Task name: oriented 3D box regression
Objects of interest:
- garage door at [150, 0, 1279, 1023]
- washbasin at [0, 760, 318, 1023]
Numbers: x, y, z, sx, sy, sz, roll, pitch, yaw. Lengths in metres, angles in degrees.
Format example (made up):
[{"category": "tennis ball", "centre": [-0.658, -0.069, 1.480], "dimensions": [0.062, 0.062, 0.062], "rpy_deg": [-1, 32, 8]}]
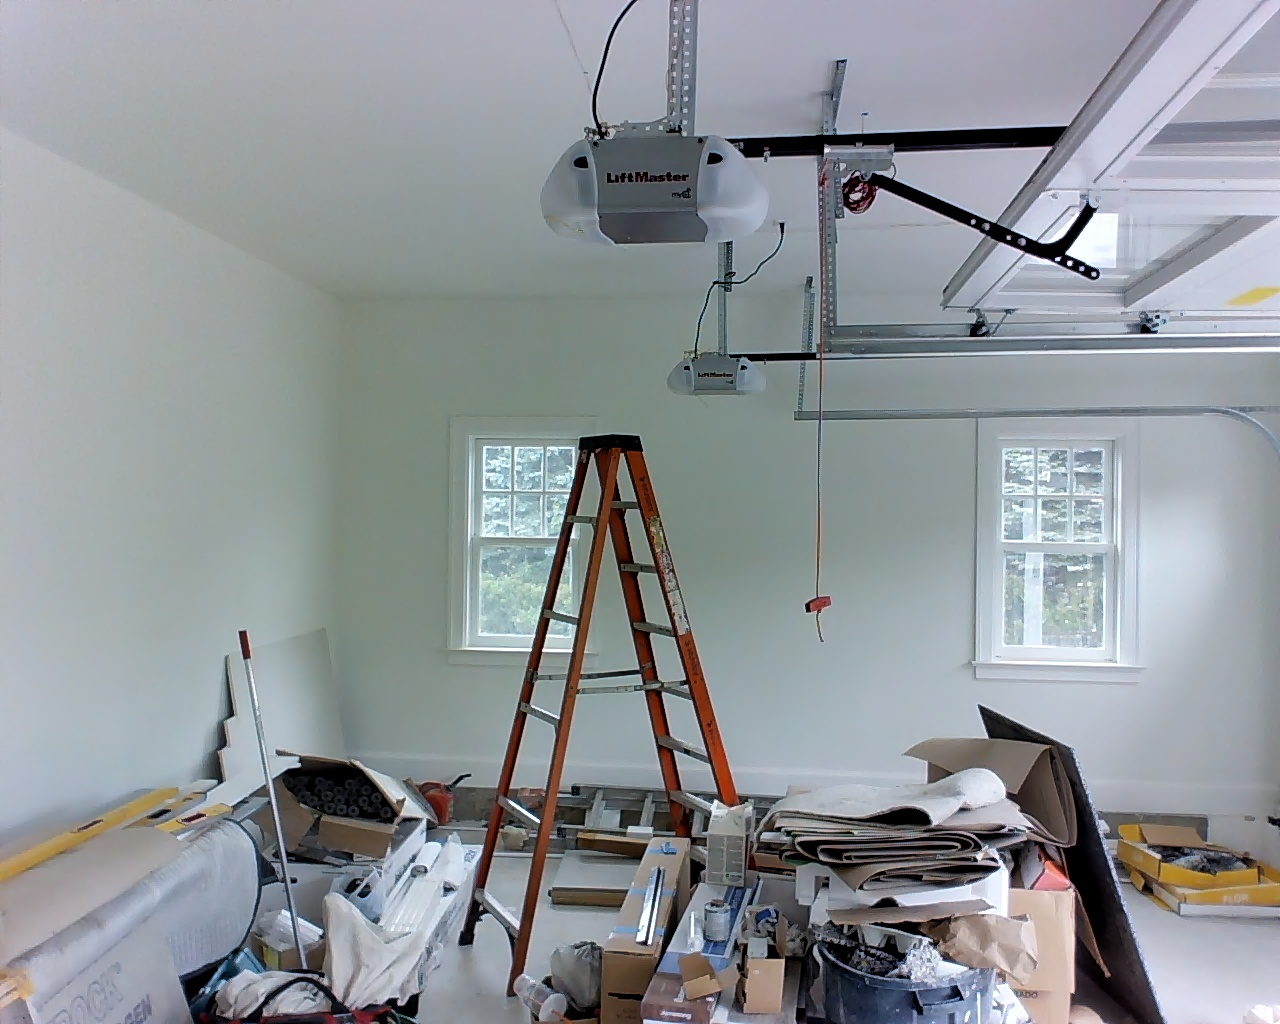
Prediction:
[{"category": "garage door", "centre": [1.150, -0.820, 2.450], "dimensions": [3.460, 0.990, 2.710], "rpy_deg": [-44, -5, 4]}, {"category": "washbasin", "centre": [-1.650, 1.310, 3.180], "dimensions": [0.680, 0.730, 1.800], "rpy_deg": [1, 0, 6]}]
